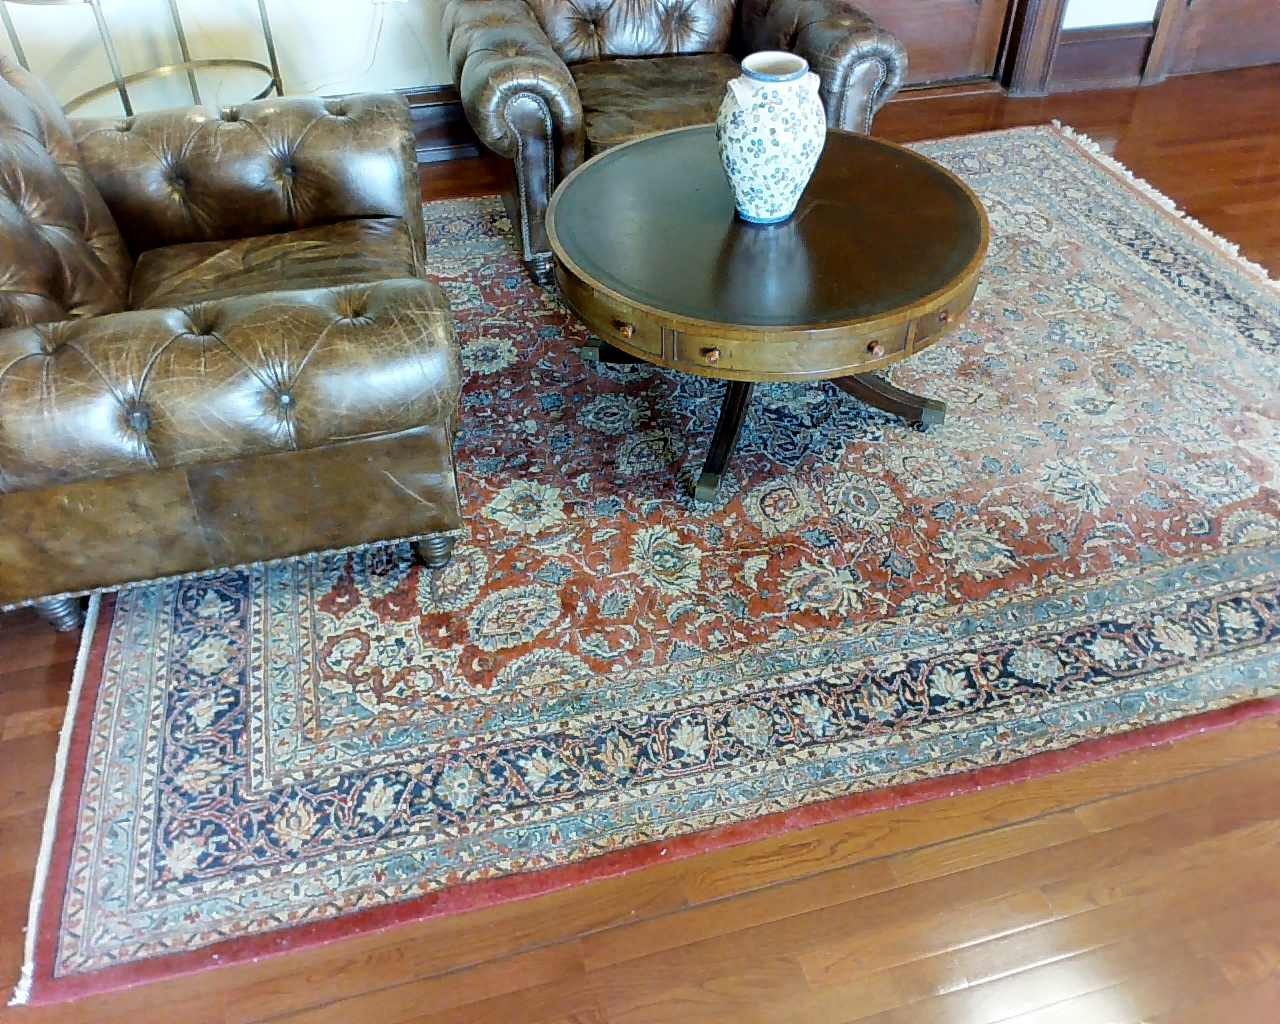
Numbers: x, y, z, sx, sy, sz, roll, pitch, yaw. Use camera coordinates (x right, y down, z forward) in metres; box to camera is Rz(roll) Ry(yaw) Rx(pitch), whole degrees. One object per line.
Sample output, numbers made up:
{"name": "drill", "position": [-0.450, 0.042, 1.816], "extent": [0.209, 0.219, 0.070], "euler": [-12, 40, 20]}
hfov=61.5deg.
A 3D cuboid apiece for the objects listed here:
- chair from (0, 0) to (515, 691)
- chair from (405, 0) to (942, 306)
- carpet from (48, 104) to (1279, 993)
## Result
{"name": "chair", "position": [-0.980, -0.480, 2.210], "extent": [1.170, 0.910, 1.260], "euler": [-10, 43, -11]}
{"name": "chair", "position": [0.010, -1.380, 3.230], "extent": [1.300, 0.900, 1.110], "euler": [-10, 43, -11]}
{"name": "carpet", "position": [0.390, -0.400, 2.780], "extent": [3.270, 0.060, 2.470], "euler": [-11, 43, -12]}
